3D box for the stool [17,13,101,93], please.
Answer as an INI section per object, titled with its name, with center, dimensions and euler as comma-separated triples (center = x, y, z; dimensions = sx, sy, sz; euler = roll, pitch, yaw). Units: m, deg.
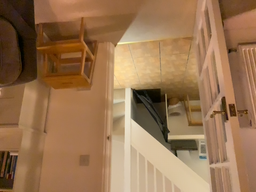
[stool]
center = -0.580, -0.360, 1.930
dimensions = 0.550, 0.540, 0.410
euler = -3, 161, 9
